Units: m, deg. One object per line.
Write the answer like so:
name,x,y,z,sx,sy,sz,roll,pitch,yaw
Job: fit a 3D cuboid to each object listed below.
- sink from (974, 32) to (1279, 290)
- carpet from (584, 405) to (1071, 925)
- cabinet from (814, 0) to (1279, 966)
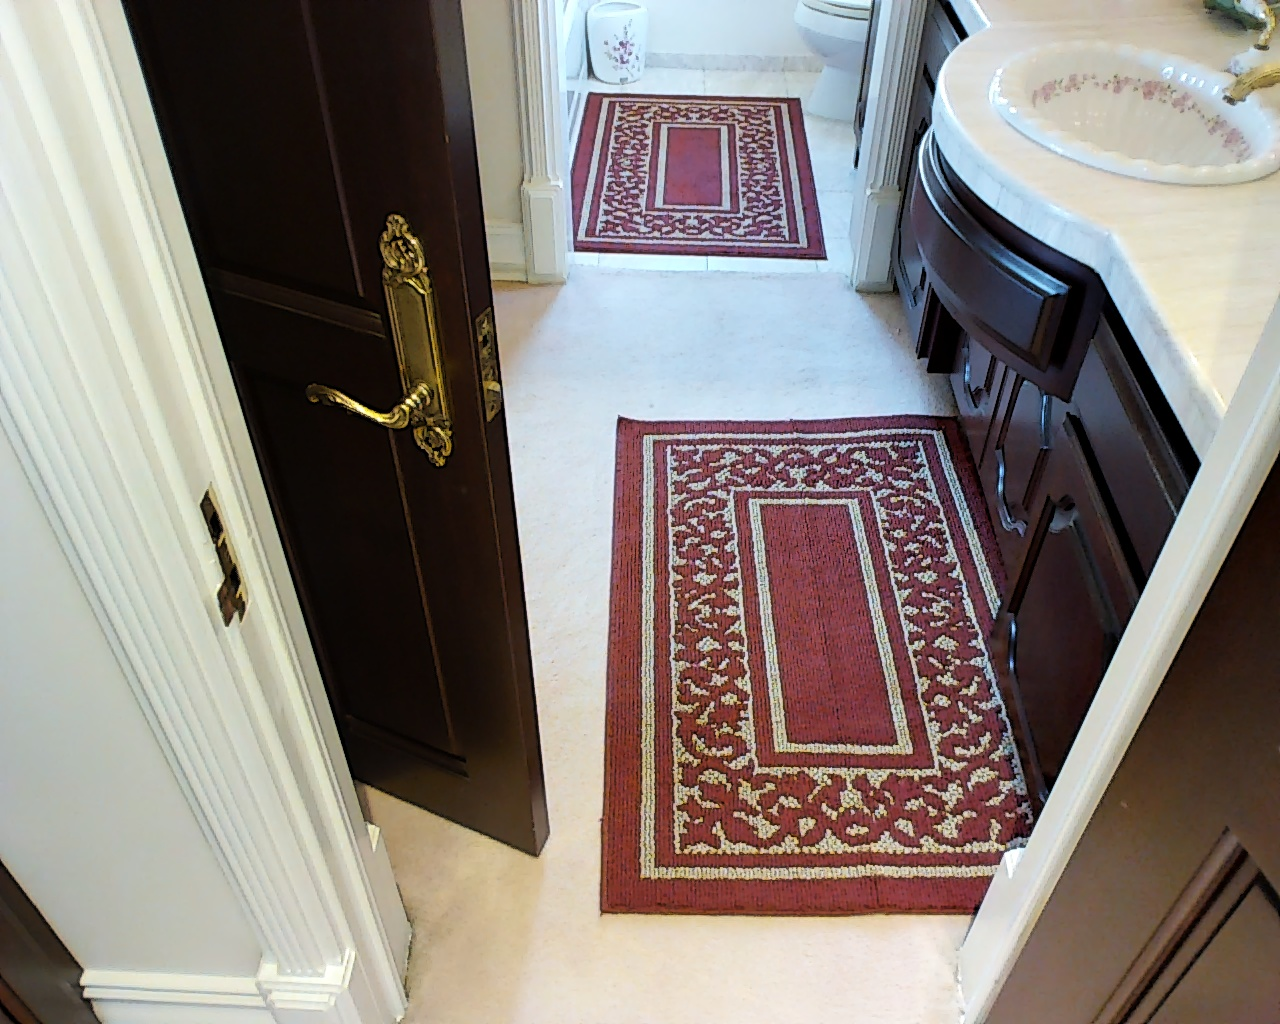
sink,0.760,-0.560,1.650,0.340,0.180,0.520,2,42,1
carpet,0.280,0.170,1.940,0.680,0.010,1.190,2,42,1
cabinet,0.530,-0.320,1.880,0.180,0.840,1.880,2,42,1
